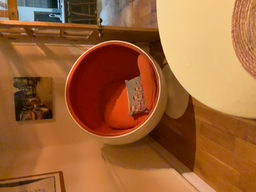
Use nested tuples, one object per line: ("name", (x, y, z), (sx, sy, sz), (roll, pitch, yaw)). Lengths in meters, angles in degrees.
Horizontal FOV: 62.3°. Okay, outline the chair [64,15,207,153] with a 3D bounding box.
("chair", (-0.040, -0.070, 2.250), (0.860, 1.140, 1.110), (133, 131, -65))
